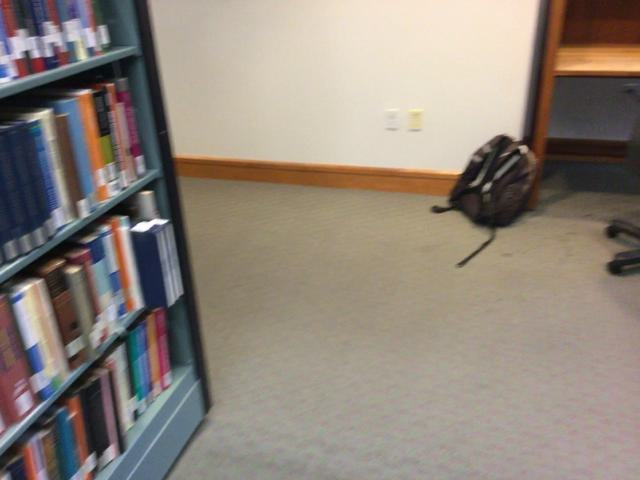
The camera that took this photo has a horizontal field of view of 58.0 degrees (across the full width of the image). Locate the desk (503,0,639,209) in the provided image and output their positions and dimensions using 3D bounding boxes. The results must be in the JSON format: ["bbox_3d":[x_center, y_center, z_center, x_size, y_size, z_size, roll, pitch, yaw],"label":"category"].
[{"bbox_3d":[1.700,-1.020,3.040,1.330,1.420,1.010,3,28,18],"label":"desk"}]

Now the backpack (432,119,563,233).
[{"bbox_3d":[0.910,-0.350,3.040,0.350,0.420,0.470,-4,33,-22],"label":"backpack"}]

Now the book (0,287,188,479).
[{"bbox_3d":[-0.590,0.460,1.310,0.090,0.270,0.900,3,28,18],"label":"book"}]
